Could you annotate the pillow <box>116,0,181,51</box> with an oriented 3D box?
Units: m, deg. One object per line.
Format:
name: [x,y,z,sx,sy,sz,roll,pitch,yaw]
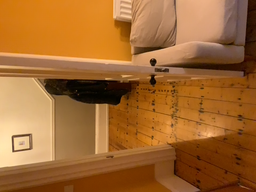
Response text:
pillow: [0.200,-0.760,1.900,0.180,0.380,0.570,11,75,61]

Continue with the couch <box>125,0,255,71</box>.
couch: [0.510,-1.080,1.780,0.830,0.760,1.670,7,98,62]
